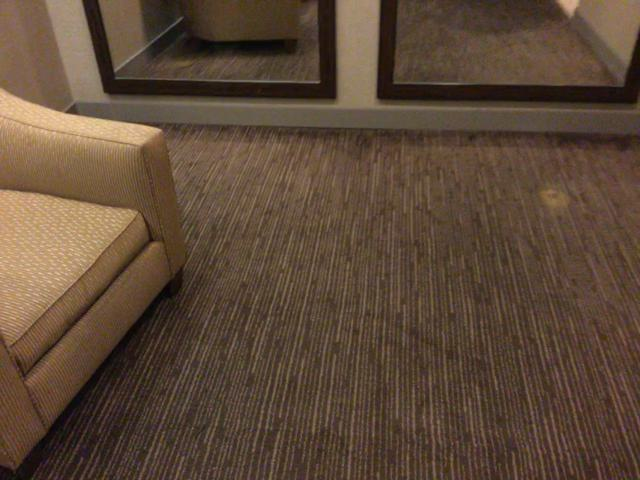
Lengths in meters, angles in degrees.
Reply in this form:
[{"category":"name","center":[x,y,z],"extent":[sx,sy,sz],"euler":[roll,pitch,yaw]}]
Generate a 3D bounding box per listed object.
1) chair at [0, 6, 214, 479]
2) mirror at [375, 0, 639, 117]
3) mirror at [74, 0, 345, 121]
[{"category":"chair","center":[-1.000,-0.020,1.560],"extent":[0.940,0.930,0.910],"euler":[8,38,18]},{"category":"mirror","center":[0.780,-0.950,2.450],"extent":[1.080,0.850,0.110],"euler":[3,33,13]},{"category":"mirror","center":[-0.520,-1.080,2.650],"extent":[1.210,1.040,0.150],"euler":[1,33,10]}]
